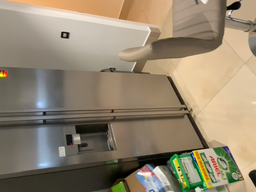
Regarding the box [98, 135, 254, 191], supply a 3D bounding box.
[{"bbox_3d":[0.310,0.780,1.780,0.910,0.860,0.420,117,144,-44],"label":"box"}]
